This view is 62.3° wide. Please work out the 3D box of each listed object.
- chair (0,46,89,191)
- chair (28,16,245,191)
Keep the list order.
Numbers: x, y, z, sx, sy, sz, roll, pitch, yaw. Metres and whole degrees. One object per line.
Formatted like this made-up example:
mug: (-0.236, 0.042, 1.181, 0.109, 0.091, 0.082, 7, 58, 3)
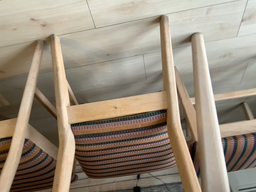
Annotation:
chair: (-0.520, 0.330, 0.930, 0.530, 0.830, 0.570, -12, 143, 5)
chair: (0.020, 0.210, 0.870, 0.520, 0.840, 0.560, -11, 143, 4)
